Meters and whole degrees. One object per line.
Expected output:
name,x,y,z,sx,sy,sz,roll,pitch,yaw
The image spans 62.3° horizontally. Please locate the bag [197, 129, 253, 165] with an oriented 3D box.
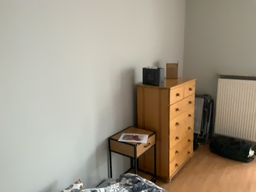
bag,1.430,0.730,3.140,0.660,0.220,0.410,8,16,36
